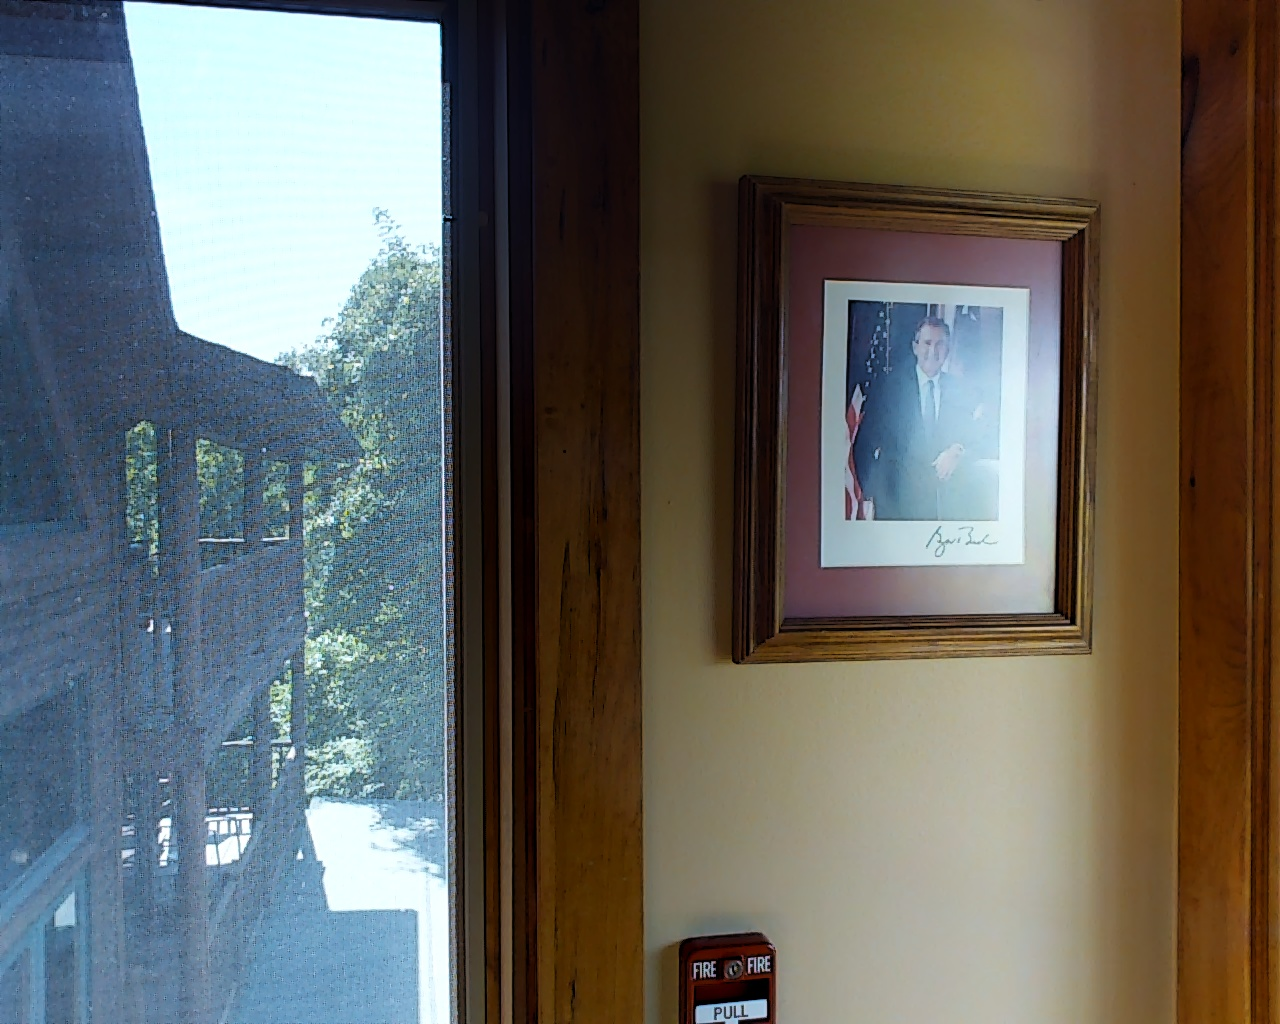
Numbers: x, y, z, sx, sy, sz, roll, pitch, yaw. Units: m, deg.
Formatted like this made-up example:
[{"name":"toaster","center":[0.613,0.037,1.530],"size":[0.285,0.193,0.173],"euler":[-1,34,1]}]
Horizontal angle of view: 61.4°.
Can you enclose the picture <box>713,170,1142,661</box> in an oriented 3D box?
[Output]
[{"name":"picture","center":[0.260,-0.080,0.960],"size":[0.390,0.410,0.040],"euler":[0,1,-12]}]
